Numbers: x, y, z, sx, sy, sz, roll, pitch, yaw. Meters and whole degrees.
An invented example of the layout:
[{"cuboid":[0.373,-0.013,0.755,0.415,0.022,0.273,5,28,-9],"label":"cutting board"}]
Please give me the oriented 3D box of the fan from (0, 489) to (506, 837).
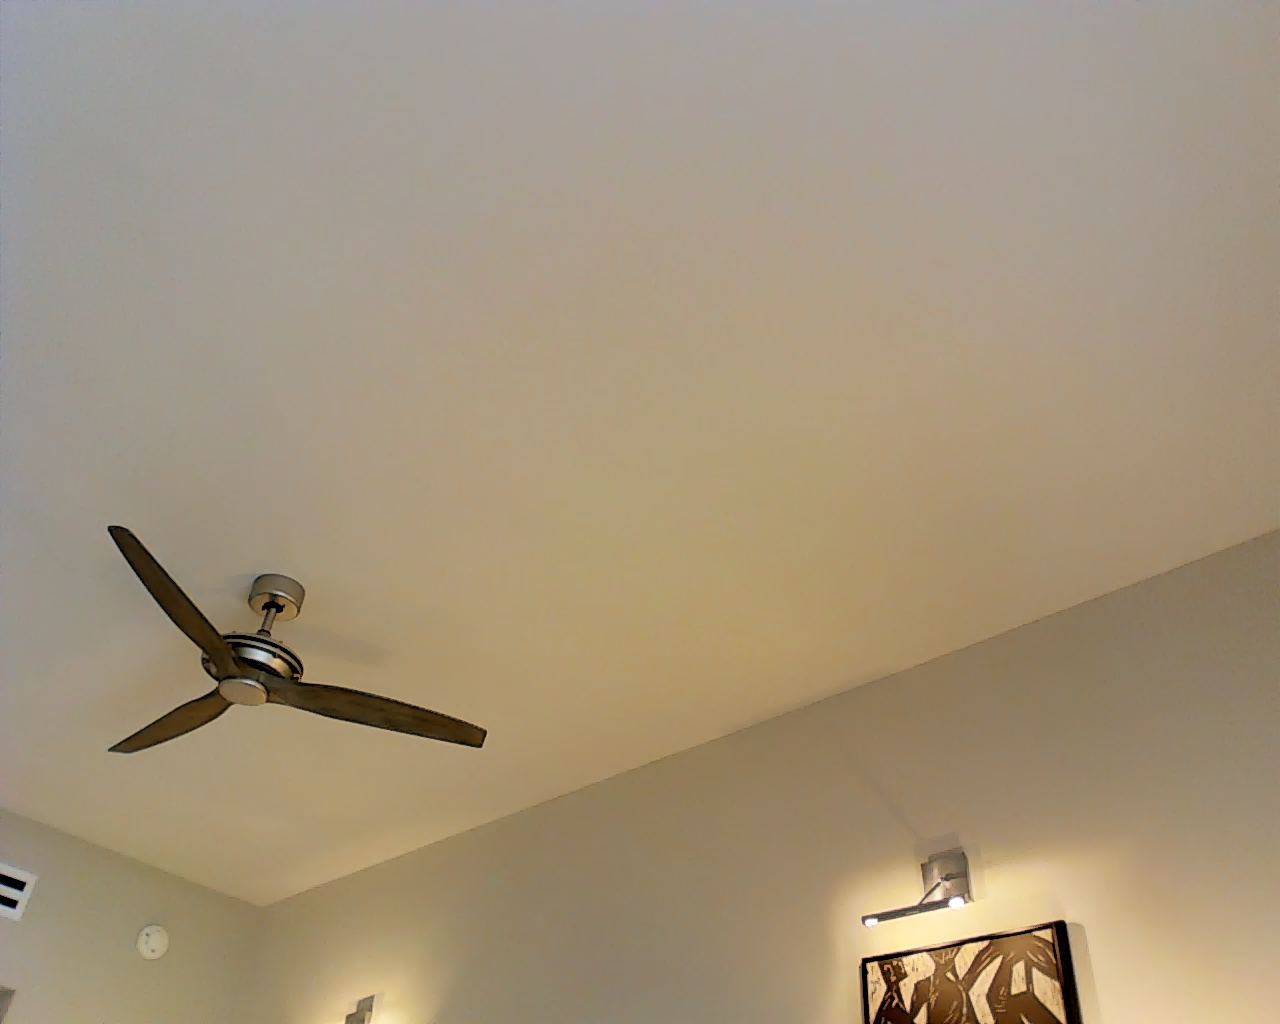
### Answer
[{"cuboid":[-1.160,0.510,3.020,1.030,0.140,1.160,-28,-50,31],"label":"fan"}]
